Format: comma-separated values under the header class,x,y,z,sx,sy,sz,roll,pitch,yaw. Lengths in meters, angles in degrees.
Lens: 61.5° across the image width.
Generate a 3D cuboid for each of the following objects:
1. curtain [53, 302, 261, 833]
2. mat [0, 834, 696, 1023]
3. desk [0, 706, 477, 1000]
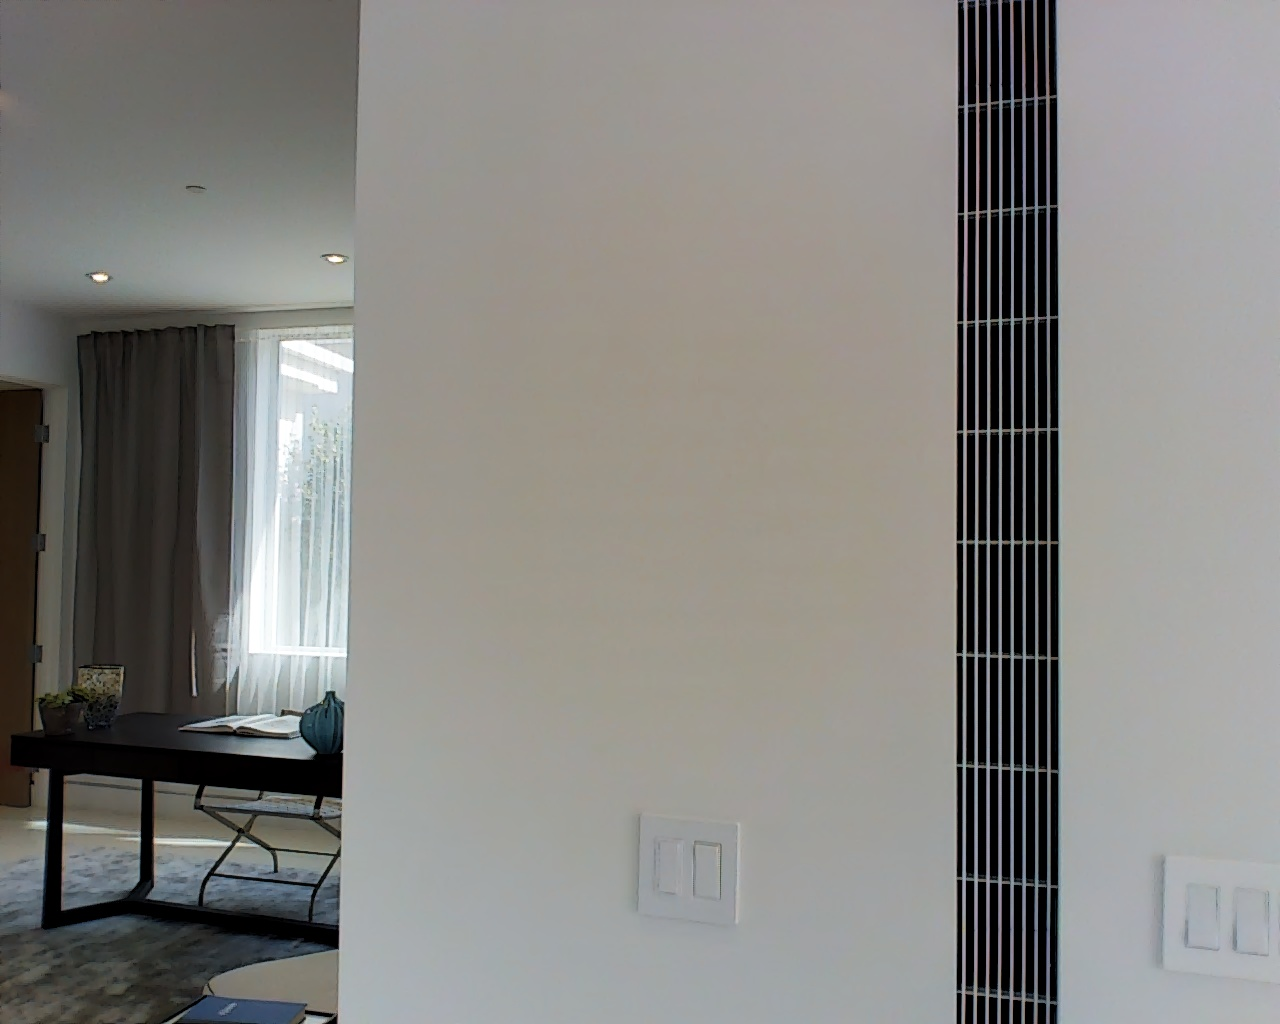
class,x,y,z,sx,sy,sz,roll,pitch,yaw
curtain,-2.739,0.290,6.100,1.150,2.891,0.180,0,-2,16
mat,-1.659,1.641,3.930,3.269,0.060,2.390,0,-2,16
desk,-1.589,1.281,4.300,1.669,0.810,0.770,0,-2,16
